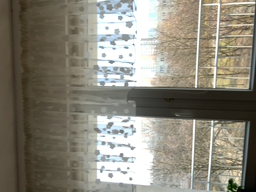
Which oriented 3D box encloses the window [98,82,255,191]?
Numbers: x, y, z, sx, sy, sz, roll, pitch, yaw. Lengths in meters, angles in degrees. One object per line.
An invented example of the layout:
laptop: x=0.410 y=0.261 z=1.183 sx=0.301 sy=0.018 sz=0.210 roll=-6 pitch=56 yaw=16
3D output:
window: x=0.380 y=0.540 z=1.600 sx=0.260 sy=1.140 sz=1.250 roll=-52 pitch=-37 yaw=-77
